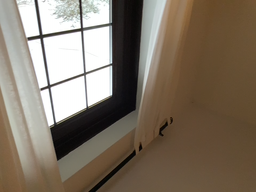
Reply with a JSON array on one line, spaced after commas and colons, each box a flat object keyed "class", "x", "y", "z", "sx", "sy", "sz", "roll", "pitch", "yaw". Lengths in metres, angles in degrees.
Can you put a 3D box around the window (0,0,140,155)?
[{"class": "window", "x": -0.240, "y": -0.490, "z": 0.950, "sx": 0.100, "sy": 1.350, "sz": 0.860, "roll": 24, "pitch": -144, "yaw": 32}]
